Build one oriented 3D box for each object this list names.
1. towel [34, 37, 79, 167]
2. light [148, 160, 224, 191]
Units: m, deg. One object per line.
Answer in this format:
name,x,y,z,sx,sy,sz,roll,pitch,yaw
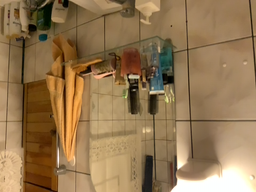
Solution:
towel,-0.370,0.030,1.100,0.230,0.610,0.100,-4,174,37
light,0.180,0.300,0.640,0.160,0.160,0.180,-4,174,39
